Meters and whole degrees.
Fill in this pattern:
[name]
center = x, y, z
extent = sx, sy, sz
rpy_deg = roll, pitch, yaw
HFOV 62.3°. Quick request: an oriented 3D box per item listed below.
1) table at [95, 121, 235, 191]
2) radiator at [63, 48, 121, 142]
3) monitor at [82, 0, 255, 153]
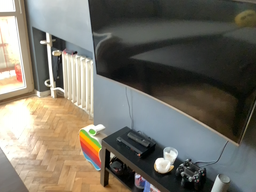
[table]
center = 0.180, 0.620, 1.470
extent = 0.940, 0.450, 0.290
rpy_deg = 28, 34, 37
[radiator]
center = -0.450, -0.050, 2.440
extent = 0.200, 0.770, 0.870
rpy_deg = -16, 34, -36
[monitor]
center = 0.130, -0.250, 1.210
extent = 1.160, 0.630, 0.040
rpy_deg = 28, 27, 36
